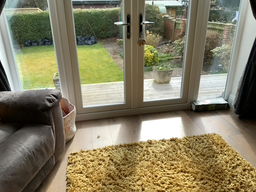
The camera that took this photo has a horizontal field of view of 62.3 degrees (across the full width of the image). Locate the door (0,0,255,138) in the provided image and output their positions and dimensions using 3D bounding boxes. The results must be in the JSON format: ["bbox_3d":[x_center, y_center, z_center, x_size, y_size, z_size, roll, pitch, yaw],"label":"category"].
[{"bbox_3d":[0.060,-0.780,2.150,2.640,2.360,0.250,-5,24,-10],"label":"door"}]

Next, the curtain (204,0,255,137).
[{"bbox_3d":[1.330,-0.720,2.080,0.770,2.390,0.280,-5,25,-11],"label":"curtain"}]
